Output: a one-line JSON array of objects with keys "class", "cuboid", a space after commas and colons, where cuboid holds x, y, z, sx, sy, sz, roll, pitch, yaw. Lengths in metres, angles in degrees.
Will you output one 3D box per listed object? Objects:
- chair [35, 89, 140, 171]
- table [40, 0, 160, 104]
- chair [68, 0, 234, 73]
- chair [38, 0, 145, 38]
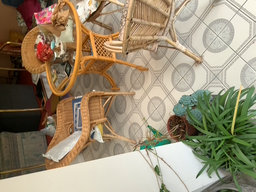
[{"class": "chair", "cuboid": [-0.430, 0.300, 2.210, 0.690, 0.810, 0.650, -11, 82, 51]}, {"class": "table", "cuboid": [-0.340, -0.480, 2.150, 0.800, 0.740, 0.760, -57, 50, 35]}, {"class": "chair", "cuboid": [0.150, -0.590, 1.460, 0.660, 0.820, 0.640, 34, 117, 46]}, {"class": "chair", "cuboid": [-0.400, -1.110, 2.150, 0.630, 0.820, 0.690, -22, 73, 50]}]
